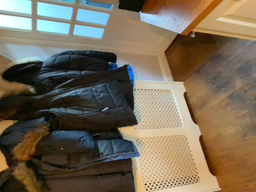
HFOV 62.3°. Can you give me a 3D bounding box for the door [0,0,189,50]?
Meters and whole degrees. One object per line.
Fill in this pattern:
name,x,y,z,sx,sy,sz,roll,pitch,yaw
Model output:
door,-0.300,-0.770,2.170,0.570,1.870,0.080,126,138,-53
